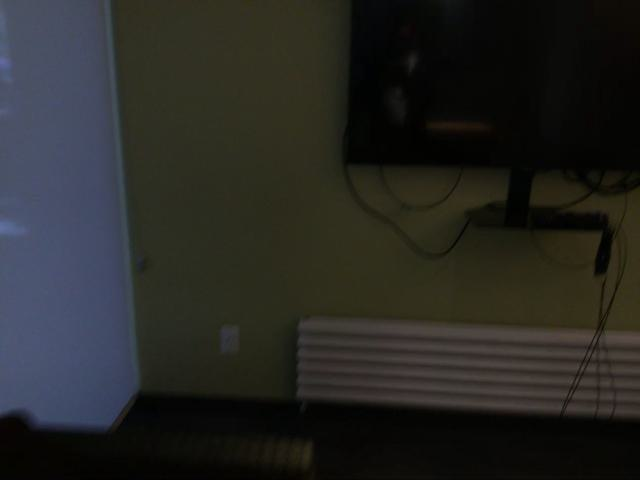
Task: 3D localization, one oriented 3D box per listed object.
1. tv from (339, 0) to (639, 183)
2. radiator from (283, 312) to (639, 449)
[{"bbox_3d":[0.720,-0.620,1.920,1.290,0.820,0.190,2,15,5],"label":"tv"},{"bbox_3d":[0.670,0.550,2.270,1.620,0.430,0.140,2,15,5],"label":"radiator"}]
